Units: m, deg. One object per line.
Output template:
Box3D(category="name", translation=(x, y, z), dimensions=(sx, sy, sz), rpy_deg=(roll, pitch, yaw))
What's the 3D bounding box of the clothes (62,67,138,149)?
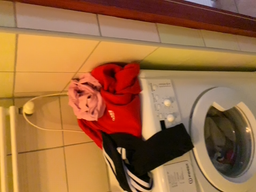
Box3D(category="clothes", translation=(-0.140, 0.070, 0.860), dimensions=(0.380, 0.150, 0.240), rpy_deg=(-31, 66, 57))
